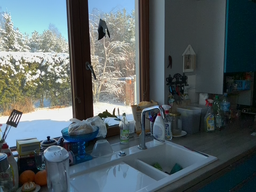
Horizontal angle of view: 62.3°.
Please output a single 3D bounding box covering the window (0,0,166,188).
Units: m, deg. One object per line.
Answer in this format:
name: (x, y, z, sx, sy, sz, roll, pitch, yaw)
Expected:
window: (-0.360, -0.440, 1.550, 1.420, 1.790, 0.350, -6, 9, -34)
